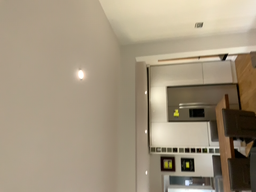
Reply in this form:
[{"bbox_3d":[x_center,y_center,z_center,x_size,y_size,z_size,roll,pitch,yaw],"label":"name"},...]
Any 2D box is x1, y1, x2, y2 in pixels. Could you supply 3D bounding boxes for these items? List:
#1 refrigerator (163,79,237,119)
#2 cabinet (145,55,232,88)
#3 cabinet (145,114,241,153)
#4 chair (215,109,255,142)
[{"bbox_3d":[1.910,0.130,5.900,0.650,1.790,0.920,53,-144,-71],"label":"refrigerator"},{"bbox_3d":[1.670,-0.670,6.180,0.650,2.300,0.630,53,-144,-71],"label":"cabinet"},{"bbox_3d":[1.650,1.040,5.710,0.640,2.300,0.940,53,-144,-71],"label":"cabinet"},{"bbox_3d":[2.020,0.530,3.650,0.640,0.820,0.450,58,-148,-69],"label":"chair"}]
